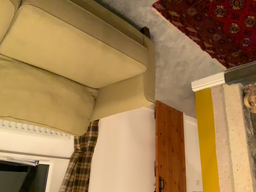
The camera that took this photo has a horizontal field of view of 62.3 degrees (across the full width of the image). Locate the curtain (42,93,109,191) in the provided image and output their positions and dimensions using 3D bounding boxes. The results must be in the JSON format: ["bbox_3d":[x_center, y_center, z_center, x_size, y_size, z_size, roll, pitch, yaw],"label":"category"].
[{"bbox_3d":[-0.510,0.990,1.930,0.510,2.000,0.190,18,154,-36],"label":"curtain"}]
